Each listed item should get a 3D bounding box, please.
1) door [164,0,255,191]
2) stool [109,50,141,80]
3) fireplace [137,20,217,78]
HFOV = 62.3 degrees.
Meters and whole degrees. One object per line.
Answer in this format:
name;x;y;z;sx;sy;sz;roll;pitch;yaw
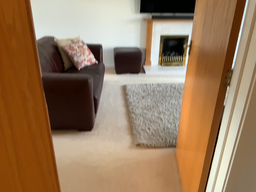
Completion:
door;0.390;-0.050;1.140;0.080;2.060;0.850;1;25;0
stool;-0.080;-0.610;4.070;0.570;0.440;0.540;-1;25;-4
fireplace;0.880;-0.940;4.190;1.290;0.980;0.720;-1;25;-4
